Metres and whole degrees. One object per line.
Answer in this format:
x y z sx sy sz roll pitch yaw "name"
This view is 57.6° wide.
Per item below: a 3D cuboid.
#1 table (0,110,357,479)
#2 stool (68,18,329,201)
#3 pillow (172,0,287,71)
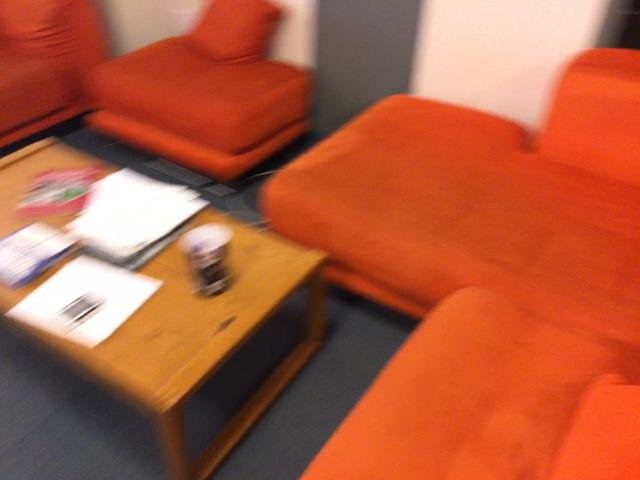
-0.670 0.090 1.830 1.340 0.420 0.760 24 41 25 "table"
-0.540 -0.650 2.690 0.930 0.410 0.660 24 41 25 "stool"
-0.410 -0.990 2.640 0.490 0.280 0.210 24 41 25 "pillow"
